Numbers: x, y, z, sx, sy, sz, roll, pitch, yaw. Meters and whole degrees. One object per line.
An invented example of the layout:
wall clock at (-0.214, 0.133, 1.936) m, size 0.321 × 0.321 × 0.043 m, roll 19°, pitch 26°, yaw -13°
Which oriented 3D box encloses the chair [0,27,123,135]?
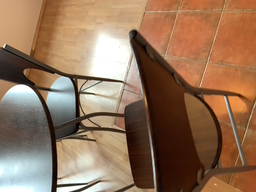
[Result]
chair at (-0.490, -0.010, 1.470) m, size 0.410 × 0.870 × 0.510 m, roll -14°, pitch 74°, yaw 39°

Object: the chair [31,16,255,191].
chair at (0.160, 0.150, 0.860) m, size 0.490 × 0.880 × 0.410 m, roll -20°, pitch 71°, yaw 38°
